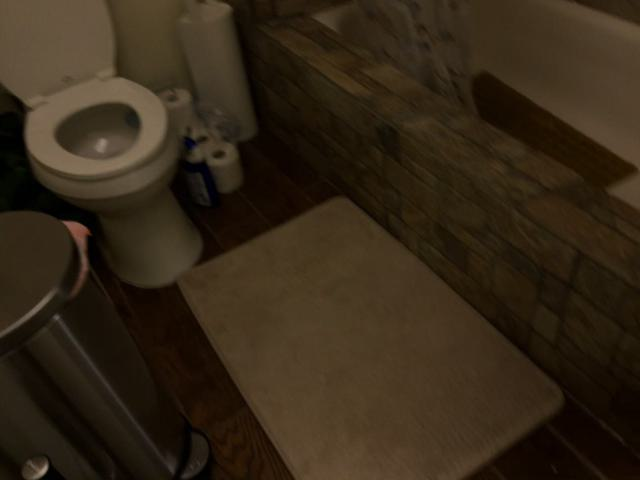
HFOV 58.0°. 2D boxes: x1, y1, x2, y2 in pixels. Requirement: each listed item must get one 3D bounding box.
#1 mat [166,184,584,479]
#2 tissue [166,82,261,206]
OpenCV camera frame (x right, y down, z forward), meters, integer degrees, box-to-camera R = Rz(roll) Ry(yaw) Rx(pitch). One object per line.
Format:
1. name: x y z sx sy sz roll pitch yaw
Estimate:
1. mat: 0.060 0.230 1.460 0.610 0.050 0.940 -29 46 -17
2. tissue: -0.350 -0.320 1.900 0.120 0.270 0.320 -29 46 -17
